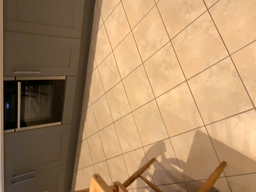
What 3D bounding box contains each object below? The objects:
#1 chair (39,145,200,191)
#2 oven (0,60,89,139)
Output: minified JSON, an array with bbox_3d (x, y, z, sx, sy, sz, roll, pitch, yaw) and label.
[{"bbox_3d":[-0.070,0.780,1.410,0.550,0.860,0.500,34,118,42],"label":"chair"},{"bbox_3d":[-1.060,-0.020,2.480,0.640,0.910,0.620,32,118,43],"label":"oven"}]
